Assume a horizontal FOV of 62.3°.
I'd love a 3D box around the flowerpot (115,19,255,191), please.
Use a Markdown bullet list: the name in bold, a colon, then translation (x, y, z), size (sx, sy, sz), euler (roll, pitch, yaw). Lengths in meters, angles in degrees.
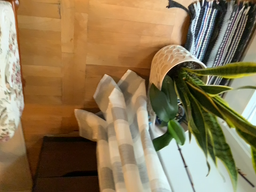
- **flowerpot**: translation (0.250, 0.080, 0.720), size (0.400, 0.700, 0.300), euler (-32, 126, 10)
